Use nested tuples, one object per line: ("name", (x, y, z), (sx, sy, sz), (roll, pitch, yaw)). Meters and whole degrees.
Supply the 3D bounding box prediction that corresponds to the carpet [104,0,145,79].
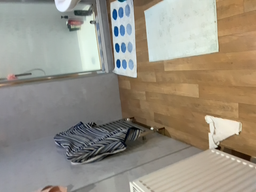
("carpet", (-0.060, -0.640, 2.350), (0.610, 0.070, 0.870), (5, 104, 61))
